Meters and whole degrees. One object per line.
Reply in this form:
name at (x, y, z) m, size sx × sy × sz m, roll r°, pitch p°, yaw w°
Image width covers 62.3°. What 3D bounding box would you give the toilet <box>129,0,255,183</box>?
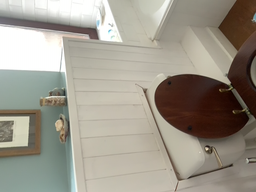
toilet at (0.540, -0.060, 0.930) m, size 0.660 × 0.810 × 0.520 m, roll 115°, pitch 147°, yaw -45°
